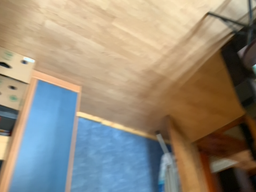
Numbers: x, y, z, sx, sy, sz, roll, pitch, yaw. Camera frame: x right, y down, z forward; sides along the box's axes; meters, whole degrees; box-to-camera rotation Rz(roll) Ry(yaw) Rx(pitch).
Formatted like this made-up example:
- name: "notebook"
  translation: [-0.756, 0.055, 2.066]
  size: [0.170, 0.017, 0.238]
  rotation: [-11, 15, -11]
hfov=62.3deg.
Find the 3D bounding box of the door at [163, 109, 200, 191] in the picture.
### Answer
- name: "door"
  translation: [0.670, 1.210, 2.060]
  size: [0.070, 2.140, 0.790]
  rotation: [-19, 140, 19]
